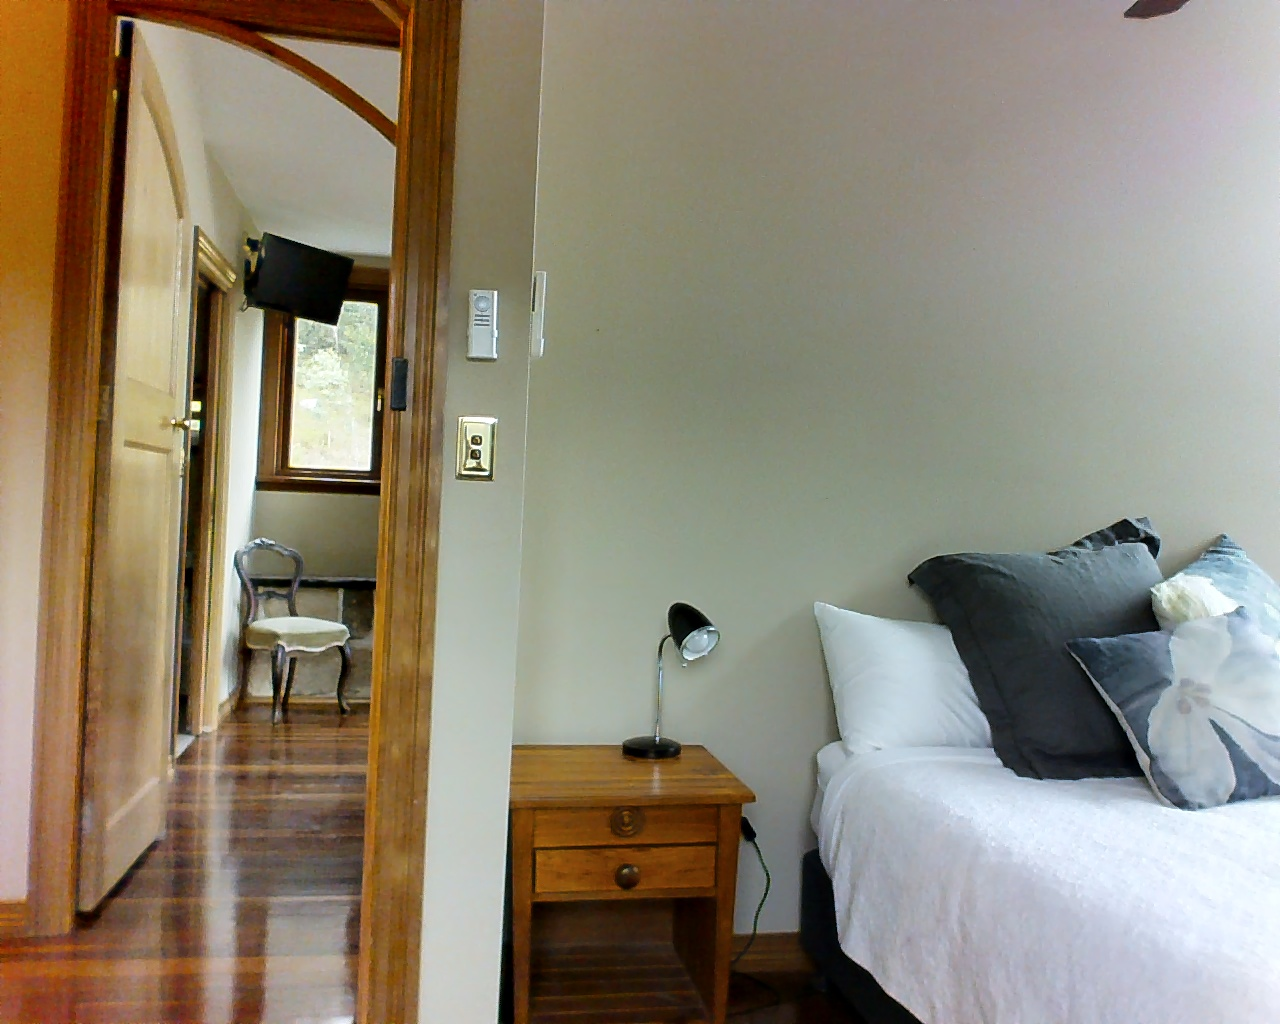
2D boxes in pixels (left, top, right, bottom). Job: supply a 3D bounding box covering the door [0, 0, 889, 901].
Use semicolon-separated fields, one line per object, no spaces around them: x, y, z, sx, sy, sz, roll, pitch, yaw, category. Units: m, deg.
-0.430;-0.400;2.510;1.959;2.491;0.240;3;0;-12;door
